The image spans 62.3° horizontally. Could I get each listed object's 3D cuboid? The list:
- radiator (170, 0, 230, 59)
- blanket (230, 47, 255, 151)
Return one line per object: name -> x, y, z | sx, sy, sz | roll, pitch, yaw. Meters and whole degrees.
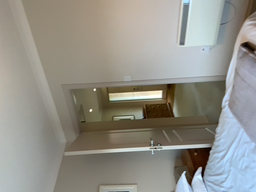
radiator -> 0.730, -0.760, 2.210 | 0.490, 0.720, 0.150 | -3, 37, 0
blanket -> 0.660, -0.020, 1.180 | 0.100, 0.480, 0.450 | 2, 14, 20
